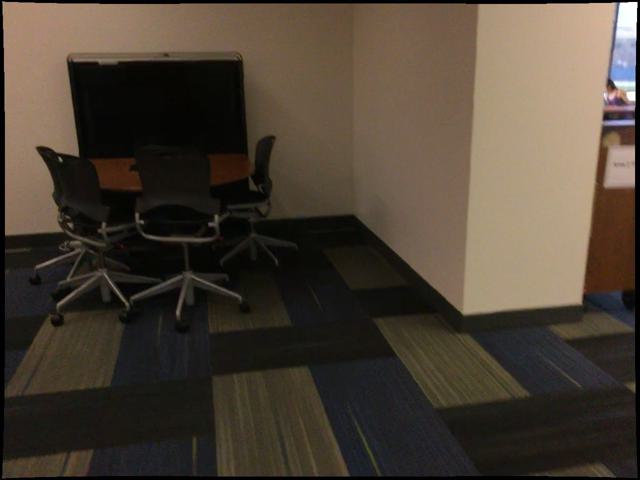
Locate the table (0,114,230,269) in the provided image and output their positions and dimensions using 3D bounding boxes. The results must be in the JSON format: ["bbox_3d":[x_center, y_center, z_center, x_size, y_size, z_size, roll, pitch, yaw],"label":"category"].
[{"bbox_3d":[-1.426,-0.451,4.220,1.347,0.802,1.420,-5,16,-13],"label":"table"}]
